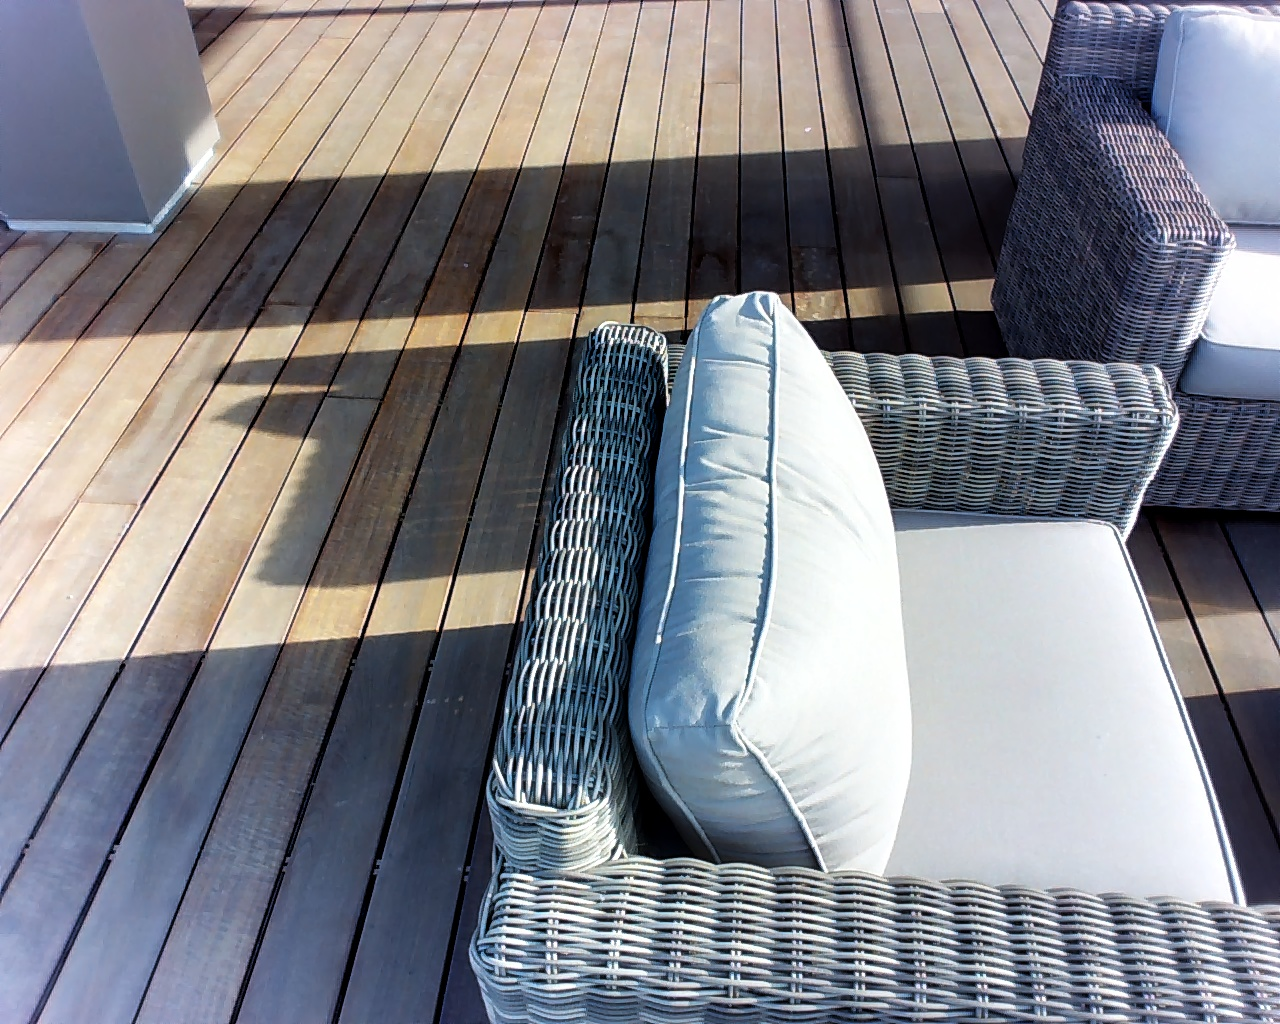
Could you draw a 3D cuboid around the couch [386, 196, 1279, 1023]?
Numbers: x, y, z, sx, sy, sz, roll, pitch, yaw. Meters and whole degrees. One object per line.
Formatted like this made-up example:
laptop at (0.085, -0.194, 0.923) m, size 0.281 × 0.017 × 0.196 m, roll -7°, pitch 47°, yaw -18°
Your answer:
couch at (0.310, 0.230, 1.440) m, size 0.910 × 0.830 × 1.090 m, roll 2°, pitch 43°, yaw 3°
